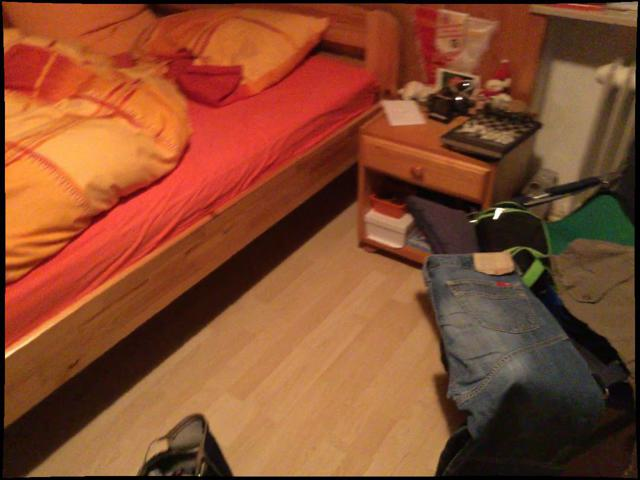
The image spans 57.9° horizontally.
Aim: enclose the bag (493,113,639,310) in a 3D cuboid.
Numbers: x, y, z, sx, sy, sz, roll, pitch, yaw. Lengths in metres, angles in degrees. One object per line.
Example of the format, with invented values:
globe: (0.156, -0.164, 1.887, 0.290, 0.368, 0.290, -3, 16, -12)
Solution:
bag: (0.739, -0.060, 1.410, 0.510, 0.300, 0.260, 24, 46, 30)
